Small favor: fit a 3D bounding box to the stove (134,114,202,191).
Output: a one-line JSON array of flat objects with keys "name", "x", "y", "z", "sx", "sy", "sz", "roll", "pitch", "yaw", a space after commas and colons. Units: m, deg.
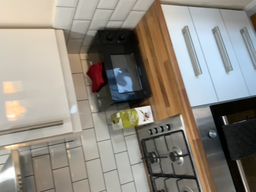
[{"name": "stove", "x": 0.230, "y": 0.490, "z": 1.230, "sx": 0.520, "sy": 0.020, "sz": 0.680, "roll": -36, "pitch": 65, "yaw": 61}]
